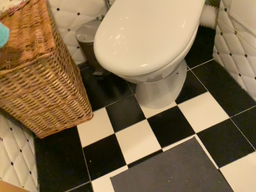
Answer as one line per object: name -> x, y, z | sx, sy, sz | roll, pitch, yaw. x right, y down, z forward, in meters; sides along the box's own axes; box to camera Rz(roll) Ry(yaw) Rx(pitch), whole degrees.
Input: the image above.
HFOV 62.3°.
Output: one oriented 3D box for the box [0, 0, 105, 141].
box -> -0.400, -0.140, 1.000 | 0.330, 0.490, 0.440 | -25, 54, -5
